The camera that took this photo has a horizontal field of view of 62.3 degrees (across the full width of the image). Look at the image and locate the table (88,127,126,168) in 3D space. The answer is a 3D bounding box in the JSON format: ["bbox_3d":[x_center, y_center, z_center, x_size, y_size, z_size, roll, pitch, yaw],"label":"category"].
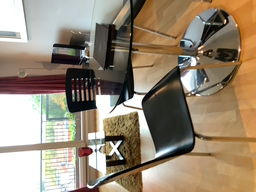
[{"bbox_3d":[-0.340,0.730,3.120,0.910,0.290,0.480,154,113,-66],"label":"table"}]

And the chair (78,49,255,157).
[{"bbox_3d":[0.200,0.060,1.160,0.390,0.850,0.400,134,131,-60],"label":"chair"}]
